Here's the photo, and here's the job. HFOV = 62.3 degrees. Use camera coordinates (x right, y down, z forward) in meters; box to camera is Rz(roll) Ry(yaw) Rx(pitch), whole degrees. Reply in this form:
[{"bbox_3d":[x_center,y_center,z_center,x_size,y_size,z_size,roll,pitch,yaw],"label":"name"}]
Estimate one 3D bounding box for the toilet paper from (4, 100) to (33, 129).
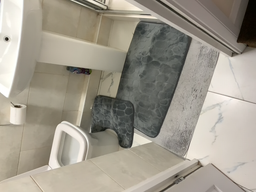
[{"bbox_3d":[-0.740,0.120,1.430,0.100,0.130,0.160,19,101,38],"label":"toilet paper"}]
